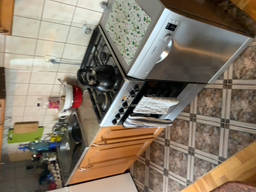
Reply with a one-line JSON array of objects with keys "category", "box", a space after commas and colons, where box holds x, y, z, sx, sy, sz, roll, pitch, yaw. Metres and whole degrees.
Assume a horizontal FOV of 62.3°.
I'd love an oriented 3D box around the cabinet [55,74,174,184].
[{"category": "cabinet", "box": [-0.230, 0.380, 2.340, 1.090, 0.800, 0.600, -56, 46, 39]}]
